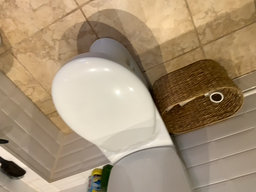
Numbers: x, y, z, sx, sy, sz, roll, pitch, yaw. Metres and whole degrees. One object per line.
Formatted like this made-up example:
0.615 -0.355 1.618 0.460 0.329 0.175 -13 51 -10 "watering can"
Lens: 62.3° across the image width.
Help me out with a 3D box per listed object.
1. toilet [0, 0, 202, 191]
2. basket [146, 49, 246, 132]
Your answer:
-0.030 0.100 0.900 0.390 0.790 0.680 -23 125 14 "toilet"
0.340 -0.030 1.130 0.420 0.250 0.190 -23 125 15 "basket"
